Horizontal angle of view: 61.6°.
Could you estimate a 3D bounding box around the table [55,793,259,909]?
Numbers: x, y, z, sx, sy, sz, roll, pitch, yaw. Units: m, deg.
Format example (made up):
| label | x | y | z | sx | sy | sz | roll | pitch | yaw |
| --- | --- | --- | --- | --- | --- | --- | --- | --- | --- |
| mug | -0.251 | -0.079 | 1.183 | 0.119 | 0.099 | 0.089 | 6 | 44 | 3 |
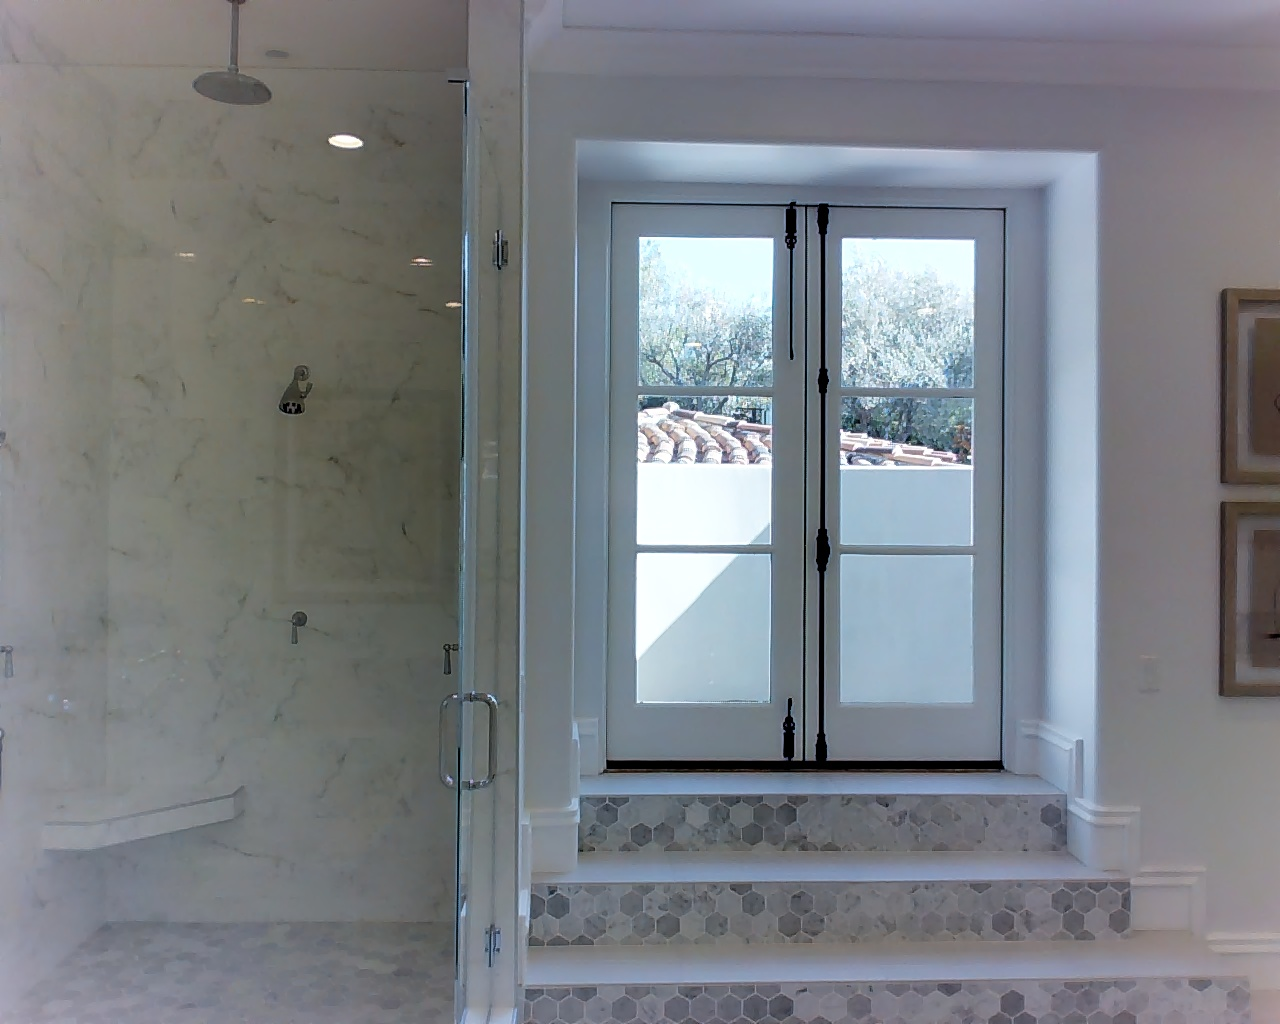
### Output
| label | x | y | z | sx | sy | sz | roll | pitch | yaw |
| --- | --- | --- | --- | --- | --- | --- | --- | --- | --- |
| table | -1.689 | 1.190 | 3.810 | 0.520 | 0.260 | 0.480 | 0 | -1 | -3 |
